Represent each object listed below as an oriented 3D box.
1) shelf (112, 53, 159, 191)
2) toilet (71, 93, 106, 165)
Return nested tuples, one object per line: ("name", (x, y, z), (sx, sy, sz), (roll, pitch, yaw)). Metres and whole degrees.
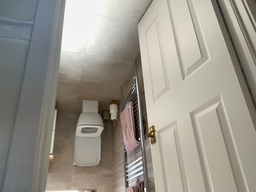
("shelf", (0.020, 0.360, 2.160), (0.220, 1.460, 0.640), (4, 152, -15))
("toilet", (-0.550, 0.470, 2.920), (0.370, 0.810, 0.610), (5, 152, -17))
